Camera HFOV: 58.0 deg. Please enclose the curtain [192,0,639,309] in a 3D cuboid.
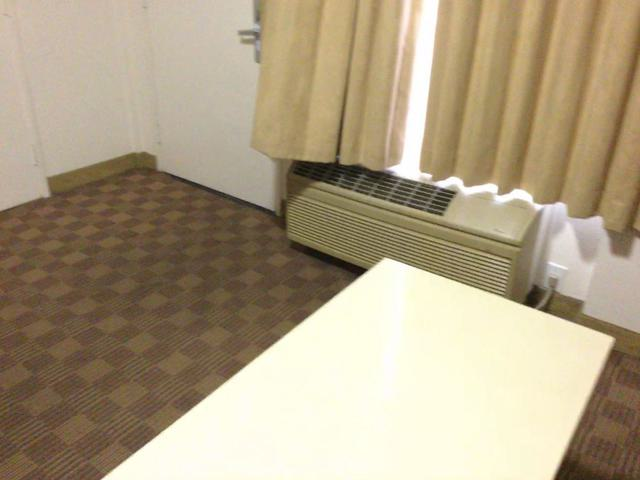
[{"bbox_3d":[0.390,-0.820,1.840,1.700,1.510,0.560,20,32,30],"label":"curtain"}]
